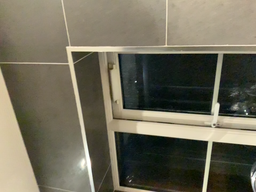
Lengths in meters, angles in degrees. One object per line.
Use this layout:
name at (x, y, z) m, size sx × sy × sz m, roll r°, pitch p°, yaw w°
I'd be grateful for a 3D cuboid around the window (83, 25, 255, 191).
window at (0.350, 0.180, 0.960) m, size 0.100 × 1.030 × 0.940 m, roll -57°, pitch -33°, yaw -63°
